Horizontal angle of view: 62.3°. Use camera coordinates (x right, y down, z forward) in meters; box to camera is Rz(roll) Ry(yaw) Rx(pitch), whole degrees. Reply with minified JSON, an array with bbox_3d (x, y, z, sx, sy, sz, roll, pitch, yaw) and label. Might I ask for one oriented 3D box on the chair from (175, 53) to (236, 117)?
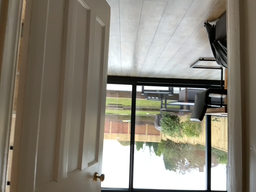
[{"bbox_3d":[1.140,-0.130,3.190,0.710,0.860,0.510,3,175,-3],"label":"chair"}]
